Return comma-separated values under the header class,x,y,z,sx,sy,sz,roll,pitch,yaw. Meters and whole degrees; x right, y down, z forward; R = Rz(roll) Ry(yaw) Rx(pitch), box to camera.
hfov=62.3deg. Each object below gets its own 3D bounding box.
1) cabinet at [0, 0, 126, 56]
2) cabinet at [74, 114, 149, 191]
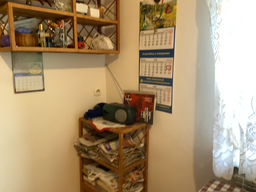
class,x,y,z,sx,sy,sz,roll,pitch,yaw
cabinet,-0.400,-0.510,1.490,0.260,0.450,0.850,10,14,43
cabinet,-0.140,0.660,1.780,0.510,0.880,0.350,10,14,44
